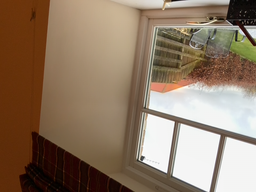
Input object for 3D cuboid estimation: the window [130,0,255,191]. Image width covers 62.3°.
[{"bbox_3d":[0.430,0.040,1.130,0.830,1.050,0.080,14,-169,37],"label":"window"}]
